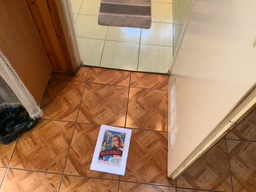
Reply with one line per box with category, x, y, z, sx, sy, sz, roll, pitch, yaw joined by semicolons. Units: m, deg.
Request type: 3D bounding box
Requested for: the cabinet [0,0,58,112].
cabinet;-0.720;-0.290;1.210;0.340;0.860;0.360;8;58;2
